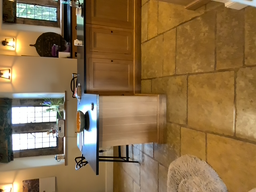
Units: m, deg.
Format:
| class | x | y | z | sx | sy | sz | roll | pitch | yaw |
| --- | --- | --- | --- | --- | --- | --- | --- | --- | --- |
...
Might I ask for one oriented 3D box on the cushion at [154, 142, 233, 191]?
| class | x | y | z | sx | sy | sz | roll | pitch | yaw |
| --- | --- | --- | --- | --- | --- | --- | --- | --- | --- |
| cushion | 0.610 | 1.080 | 2.250 | 0.990 | 0.190 | 0.950 | -174 | 85 | -67 |
